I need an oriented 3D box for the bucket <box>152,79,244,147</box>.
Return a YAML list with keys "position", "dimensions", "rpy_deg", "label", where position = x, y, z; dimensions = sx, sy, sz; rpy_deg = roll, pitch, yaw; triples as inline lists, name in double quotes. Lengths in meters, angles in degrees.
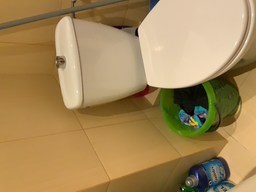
- position: [0.340, 0.060, 1.070]
  dimensions: [0.290, 0.290, 0.230]
  rpy_deg: [26, 114, 51]
  label: "bucket"
